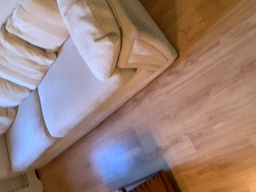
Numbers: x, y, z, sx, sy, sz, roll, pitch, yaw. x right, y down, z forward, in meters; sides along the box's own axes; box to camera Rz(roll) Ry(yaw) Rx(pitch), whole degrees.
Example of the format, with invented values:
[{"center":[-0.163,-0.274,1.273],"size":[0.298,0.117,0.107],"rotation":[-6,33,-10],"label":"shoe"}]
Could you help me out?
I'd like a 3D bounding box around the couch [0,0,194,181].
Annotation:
[{"center":[-0.820,-0.110,1.680],"size":[2.180,0.910,1.030],"rotation":[-36,70,32],"label":"couch"}]
